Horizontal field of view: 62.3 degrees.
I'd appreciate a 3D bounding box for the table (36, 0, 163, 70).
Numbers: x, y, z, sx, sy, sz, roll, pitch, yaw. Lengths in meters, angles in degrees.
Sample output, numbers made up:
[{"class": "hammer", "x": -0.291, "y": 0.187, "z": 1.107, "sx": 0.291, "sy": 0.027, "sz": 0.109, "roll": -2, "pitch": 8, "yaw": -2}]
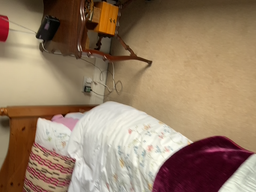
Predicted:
[{"class": "table", "x": -0.210, "y": -0.580, "z": 1.620, "sx": 0.600, "sy": 0.690, "sz": 0.640, "roll": 15, "pitch": 100, "yaw": 45}]
